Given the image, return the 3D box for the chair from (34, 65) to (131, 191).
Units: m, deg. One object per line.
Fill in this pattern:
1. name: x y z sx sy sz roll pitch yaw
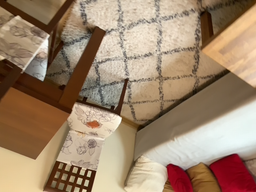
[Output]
1. chair: -0.350 0.320 1.780 0.380 0.980 0.560 26 140 -16

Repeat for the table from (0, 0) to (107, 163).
1. table: -0.830 -0.170 1.500 0.880 0.800 0.900 28 139 -19

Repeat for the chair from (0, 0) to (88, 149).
1. chair: -0.700 -0.240 1.250 0.440 0.980 0.560 33 137 -23

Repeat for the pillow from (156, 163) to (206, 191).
1. pillow: 0.550 0.920 2.180 0.440 0.260 0.260 32 137 -23
